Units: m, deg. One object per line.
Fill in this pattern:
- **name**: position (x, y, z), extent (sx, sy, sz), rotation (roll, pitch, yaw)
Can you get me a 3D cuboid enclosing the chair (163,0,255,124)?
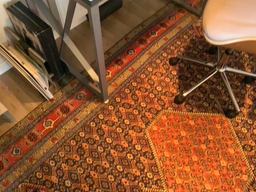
- **chair**: position (0.600, -0.340, 1.160), extent (0.610, 0.850, 0.600), rotation (10, 60, 3)
